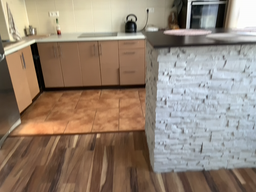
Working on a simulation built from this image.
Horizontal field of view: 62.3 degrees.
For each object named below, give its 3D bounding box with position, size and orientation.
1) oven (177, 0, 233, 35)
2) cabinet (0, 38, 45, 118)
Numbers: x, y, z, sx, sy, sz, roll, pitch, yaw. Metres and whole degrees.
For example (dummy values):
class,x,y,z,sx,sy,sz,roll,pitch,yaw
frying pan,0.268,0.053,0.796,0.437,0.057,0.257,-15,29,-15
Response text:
class,x,y,z,sx,sy,sz,roll,pitch,yaw
oven,1.150,-1.290,3.280,0.610,0.580,0.620,-2,23,-1
cabinet,-1.620,-0.260,2.810,0.630,0.870,0.710,-1,23,1
